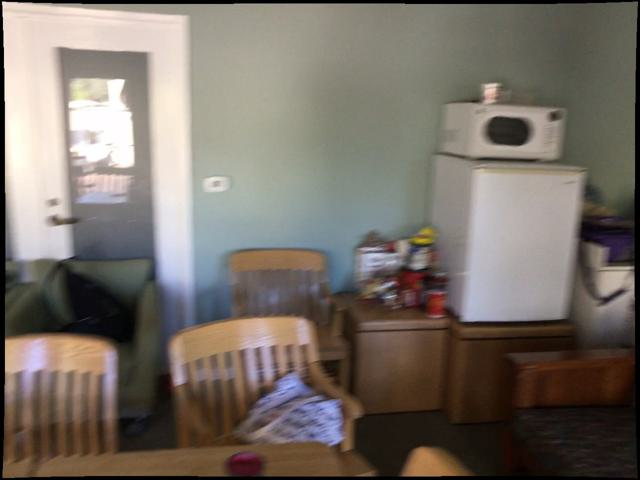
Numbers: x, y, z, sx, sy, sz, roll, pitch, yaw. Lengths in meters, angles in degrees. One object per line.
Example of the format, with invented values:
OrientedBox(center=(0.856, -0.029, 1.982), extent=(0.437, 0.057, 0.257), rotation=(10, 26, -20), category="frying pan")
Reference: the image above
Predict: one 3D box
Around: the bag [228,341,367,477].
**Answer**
OrientedBox(center=(-0.100, 0.581, 2.070), extent=(0.440, 0.250, 0.430), rotation=(-2, 15, -9), category="bag")

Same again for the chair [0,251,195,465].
OrientedBox(center=(-1.139, 0.541, 2.950), extent=(0.909, 0.741, 0.810), rotation=(-2, 15, -9), category="chair")

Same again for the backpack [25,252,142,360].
OrientedBox(center=(-1.129, 0.310, 2.820), extent=(0.430, 0.410, 0.330), rotation=(-2, 15, -9), category="backpack")

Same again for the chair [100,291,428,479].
OrientedBox(center=(-0.190, 0.751, 1.890), extent=(0.749, 0.861, 0.960), rotation=(-2, 15, -9), category="chair")

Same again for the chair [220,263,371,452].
OrientedBox(center=(-0.160, 0.571, 3.040), extent=(0.689, 0.711, 0.670), rotation=(-2, 15, -9), category="chair")
